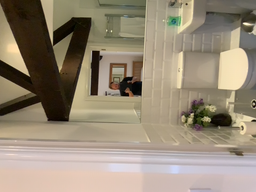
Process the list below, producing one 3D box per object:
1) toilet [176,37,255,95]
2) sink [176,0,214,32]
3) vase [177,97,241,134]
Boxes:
[{"bbox_3d":[0.910,-0.230,1.850,0.630,0.810,0.400,-120,32,-85],"label":"toilet"},{"bbox_3d":[0.590,-0.890,1.880,0.420,0.180,0.530,-120,32,-85],"label":"sink"},{"bbox_3d":[0.780,0.180,2.110,0.340,0.490,0.310,-123,35,-85],"label":"vase"}]
